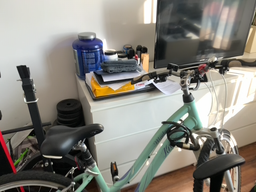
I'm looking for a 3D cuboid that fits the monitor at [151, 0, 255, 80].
[{"bbox_3d":[0.510,-0.400,1.440,0.730,0.460,0.050,-13,29,-14],"label":"monitor"}]
